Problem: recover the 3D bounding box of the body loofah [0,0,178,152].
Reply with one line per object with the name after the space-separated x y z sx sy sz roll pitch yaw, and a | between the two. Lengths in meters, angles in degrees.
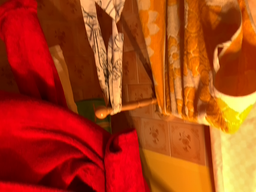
-0.100 -0.290 0.550 0.330 0.740 0.350 -4 -174 -3 | body loofah
